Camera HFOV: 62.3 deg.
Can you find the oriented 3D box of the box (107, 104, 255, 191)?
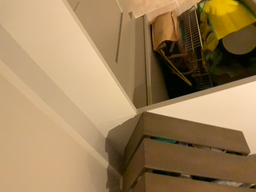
[{"bbox_3d":[0.180,0.350,0.850,0.440,0.310,0.490,13,134,-11],"label":"box"}]
